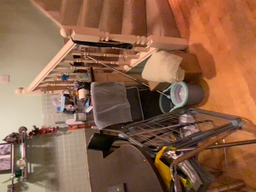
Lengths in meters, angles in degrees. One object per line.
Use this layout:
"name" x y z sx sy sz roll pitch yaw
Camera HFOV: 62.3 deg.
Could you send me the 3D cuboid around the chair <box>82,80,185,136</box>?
"chair" 0.040 0.120 2.210 0.430 0.920 0.430 139 125 -59
